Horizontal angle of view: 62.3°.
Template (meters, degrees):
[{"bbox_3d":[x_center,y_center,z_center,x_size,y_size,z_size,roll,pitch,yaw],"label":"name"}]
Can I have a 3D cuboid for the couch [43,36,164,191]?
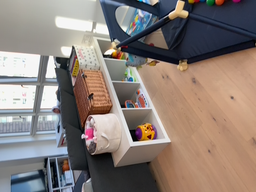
[{"bbox_3d":[-0.520,0.370,2.690,0.880,0.790,2.440,-62,39,40],"label":"couch"}]
